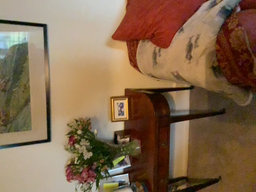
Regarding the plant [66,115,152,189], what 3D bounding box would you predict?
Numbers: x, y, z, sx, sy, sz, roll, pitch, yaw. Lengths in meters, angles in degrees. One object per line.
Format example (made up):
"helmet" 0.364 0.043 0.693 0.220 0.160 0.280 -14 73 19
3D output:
"plant" -0.150 0.360 1.550 0.400 0.500 0.330 13 105 61
